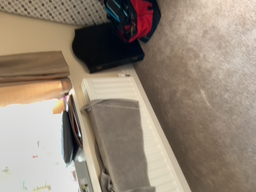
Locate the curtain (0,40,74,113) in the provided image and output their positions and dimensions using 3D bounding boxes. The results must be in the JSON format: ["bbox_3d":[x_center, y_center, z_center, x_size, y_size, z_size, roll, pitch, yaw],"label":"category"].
[{"bbox_3d":[-1.070,-0.110,1.270,0.200,1.360,0.460,-58,48,47],"label":"curtain"}]

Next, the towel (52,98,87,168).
[{"bbox_3d":[-0.430,0.260,1.520,0.230,0.120,0.420,-53,51,50],"label":"towel"}]

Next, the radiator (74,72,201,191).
[{"bbox_3d":[0.040,0.280,1.560,0.160,0.620,0.980,-53,51,50],"label":"radiator"}]
